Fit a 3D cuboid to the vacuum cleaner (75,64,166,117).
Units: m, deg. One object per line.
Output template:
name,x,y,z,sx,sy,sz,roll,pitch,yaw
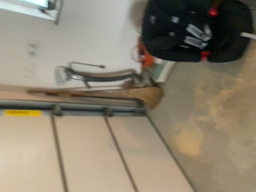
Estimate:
vacuum cleaner,-0.080,-0.040,2.310,0.400,0.830,0.370,47,126,49
